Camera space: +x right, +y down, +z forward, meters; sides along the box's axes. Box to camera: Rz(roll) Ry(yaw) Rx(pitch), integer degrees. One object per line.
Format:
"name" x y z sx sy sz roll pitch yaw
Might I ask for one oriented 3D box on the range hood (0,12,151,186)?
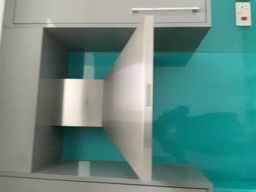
"range hood" -0.260 0.020 1.030 0.520 0.720 0.610 54 -143 -81
